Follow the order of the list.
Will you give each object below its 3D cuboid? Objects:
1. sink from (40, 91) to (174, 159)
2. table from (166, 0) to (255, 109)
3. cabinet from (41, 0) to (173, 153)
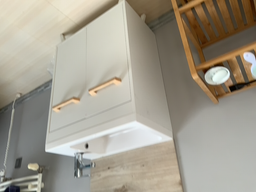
[{"bbox_3d":[-0.120,0.200,1.150,0.610,0.130,0.370,-22,148,29],"label":"sink"},{"bbox_3d":[0.430,-0.390,1.010,0.360,0.760,0.350,-21,148,28],"label":"table"},{"bbox_3d":[-0.150,-0.140,1.330,0.610,0.820,0.370,-22,148,29],"label":"cabinet"}]
